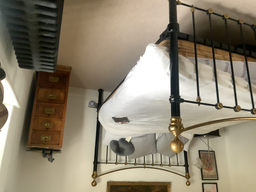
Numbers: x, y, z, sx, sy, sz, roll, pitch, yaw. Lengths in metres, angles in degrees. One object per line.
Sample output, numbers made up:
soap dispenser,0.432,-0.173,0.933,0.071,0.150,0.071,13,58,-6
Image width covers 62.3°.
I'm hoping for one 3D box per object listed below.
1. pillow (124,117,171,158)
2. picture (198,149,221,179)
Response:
pillow,0.260,0.600,2.990,0.480,0.180,0.480,22,125,-17
picture,1.390,1.160,3.620,0.380,0.480,0.050,8,160,-18
